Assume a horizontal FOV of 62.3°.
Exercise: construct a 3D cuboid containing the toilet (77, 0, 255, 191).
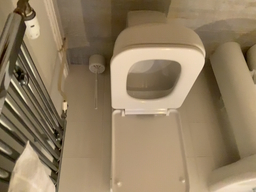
[{"bbox_3d":[0.070,-0.020,0.940,0.430,0.830,0.620,0,151,-5],"label":"toilet"}]
